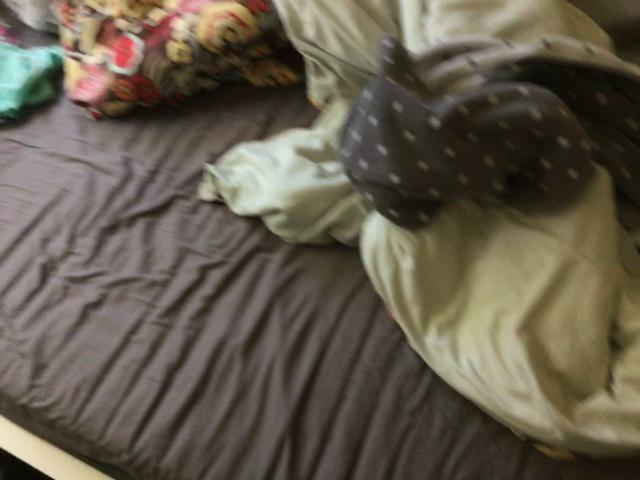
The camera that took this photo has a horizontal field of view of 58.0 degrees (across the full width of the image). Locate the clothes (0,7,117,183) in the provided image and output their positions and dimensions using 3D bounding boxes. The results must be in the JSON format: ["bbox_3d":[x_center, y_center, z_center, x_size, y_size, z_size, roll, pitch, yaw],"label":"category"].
[{"bbox_3d":[-0.700,-0.330,1.220,0.380,0.080,0.360,20,61,20],"label":"clothes"}]
